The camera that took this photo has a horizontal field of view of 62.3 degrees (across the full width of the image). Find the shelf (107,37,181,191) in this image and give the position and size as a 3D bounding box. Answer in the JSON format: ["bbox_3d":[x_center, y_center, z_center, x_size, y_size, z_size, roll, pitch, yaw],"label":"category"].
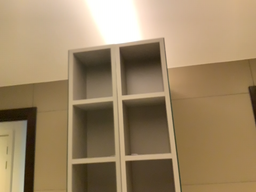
[{"bbox_3d":[0.080,0.280,0.950,0.260,1.040,0.230,-5,-14,7],"label":"shelf"}]
